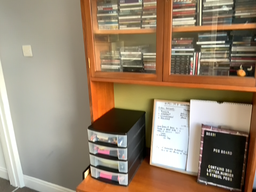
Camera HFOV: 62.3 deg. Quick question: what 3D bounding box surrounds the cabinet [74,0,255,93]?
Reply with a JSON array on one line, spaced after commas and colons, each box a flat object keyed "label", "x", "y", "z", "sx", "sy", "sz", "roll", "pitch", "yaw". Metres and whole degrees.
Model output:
[{"label": "cabinet", "x": 0.190, "y": -0.440, "z": 0.990, "sx": 0.860, "sy": 0.740, "sz": 0.280, "roll": 6, "pitch": 19, "yaw": 23}]
